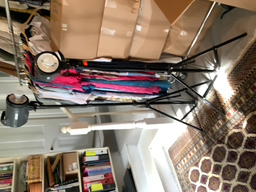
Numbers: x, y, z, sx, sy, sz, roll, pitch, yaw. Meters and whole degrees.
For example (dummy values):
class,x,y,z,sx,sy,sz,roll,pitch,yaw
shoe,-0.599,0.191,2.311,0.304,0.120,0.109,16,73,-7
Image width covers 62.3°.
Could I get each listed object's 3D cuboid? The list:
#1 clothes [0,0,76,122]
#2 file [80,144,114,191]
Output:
class,x,y,z,sx,sy,sz,roll,pitch,yaw
clothes,-1.080,-0.510,1.940,0.780,1.020,1.260,110,152,-44
file,-0.400,1.080,2.730,0.220,0.320,0.910,109,152,-43
